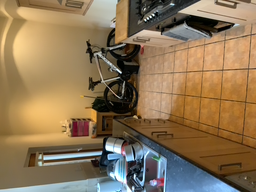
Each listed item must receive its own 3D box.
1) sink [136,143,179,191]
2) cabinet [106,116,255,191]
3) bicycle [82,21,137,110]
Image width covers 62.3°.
[{"bbox_3d":[0.250,0.700,1.910,0.400,0.180,0.440,-168,81,-67],"label":"sink"},{"bbox_3d":[0.490,0.680,2.310,1.960,0.910,0.610,-168,81,-67],"label":"cabinet"},{"bbox_3d":[-0.410,-0.590,4.500,0.590,0.920,1.690,-163,76,-67],"label":"bicycle"}]
